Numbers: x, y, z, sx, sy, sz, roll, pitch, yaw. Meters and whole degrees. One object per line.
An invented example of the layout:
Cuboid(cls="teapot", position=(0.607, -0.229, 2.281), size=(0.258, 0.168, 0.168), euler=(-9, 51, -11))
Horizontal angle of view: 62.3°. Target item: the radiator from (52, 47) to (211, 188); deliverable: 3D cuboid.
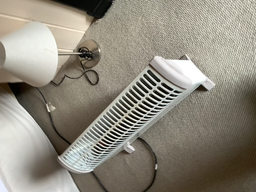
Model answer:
Cuboid(cls="radiator", position=(0.020, 0.080, 0.820), size=(0.550, 0.380, 0.140), euler=(-47, 73, 27))

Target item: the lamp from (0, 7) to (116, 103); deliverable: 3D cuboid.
Cuboid(cls="lamp", position=(-0.310, -0.160, 0.900), size=(0.210, 0.460, 0.240), euler=(48, 117, 17))
